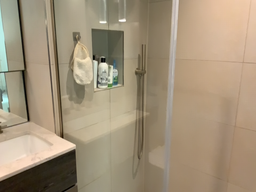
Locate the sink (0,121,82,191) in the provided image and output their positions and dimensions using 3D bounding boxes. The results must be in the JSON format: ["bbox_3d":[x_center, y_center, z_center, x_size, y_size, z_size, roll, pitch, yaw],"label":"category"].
[{"bbox_3d":[-0.620,0.330,1.000,0.480,0.150,0.620,12,18,38],"label":"sink"}]
